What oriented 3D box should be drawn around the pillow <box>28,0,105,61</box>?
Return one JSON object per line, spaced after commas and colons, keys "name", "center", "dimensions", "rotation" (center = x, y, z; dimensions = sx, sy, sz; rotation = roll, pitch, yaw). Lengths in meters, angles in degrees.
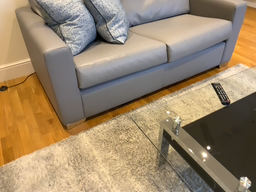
{"name": "pillow", "center": [-0.400, -0.500, 1.460], "dimensions": [0.200, 0.440, 0.410], "rotation": [8, 24, 36]}
